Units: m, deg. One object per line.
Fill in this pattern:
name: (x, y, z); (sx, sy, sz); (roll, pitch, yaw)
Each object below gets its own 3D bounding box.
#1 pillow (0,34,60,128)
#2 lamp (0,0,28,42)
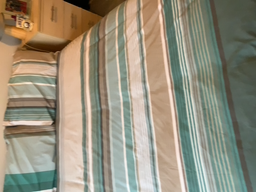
pillow: (-0.910, -0.100, 1.990); (0.280, 0.490, 0.730); (-9, 74, 17)
lamp: (-1.210, -0.760, 2.020); (0.270, 0.390, 0.310); (-15, 74, 46)
